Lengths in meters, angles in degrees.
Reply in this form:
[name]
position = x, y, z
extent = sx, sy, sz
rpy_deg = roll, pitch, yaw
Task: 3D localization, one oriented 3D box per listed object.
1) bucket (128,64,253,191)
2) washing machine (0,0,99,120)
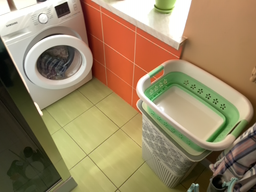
[bucket]
position = 0.290, 0.270, 1.300
extent = 0.350, 0.710, 0.470
rpy_deg = -32, 58, -25
[washing machine]
position = -0.690, -0.390, 1.700
extent = 0.630, 0.840, 0.550
rpy_deg = -37, 60, -27
